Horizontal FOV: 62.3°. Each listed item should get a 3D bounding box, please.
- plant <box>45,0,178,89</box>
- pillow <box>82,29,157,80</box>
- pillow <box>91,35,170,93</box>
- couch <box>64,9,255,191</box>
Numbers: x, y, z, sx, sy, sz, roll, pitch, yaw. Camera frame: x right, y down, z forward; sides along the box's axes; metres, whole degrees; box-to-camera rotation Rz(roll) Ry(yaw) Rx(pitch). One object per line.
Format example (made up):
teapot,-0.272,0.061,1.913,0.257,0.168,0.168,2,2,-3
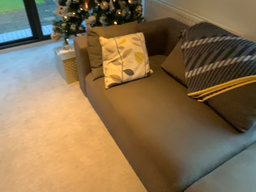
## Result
plant,-0.240,-1.310,2.210,1.150,1.980,1.080,-18,43,-23
pillow,-0.090,-0.350,1.830,0.520,0.430,0.180,-15,78,-23
pillow,0.000,-0.240,1.660,0.460,0.420,0.200,-17,81,-24
couch,0.540,0.140,1.470,1.210,0.670,2.250,-19,43,-23
